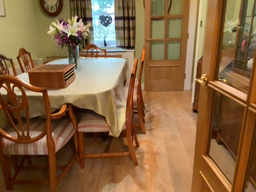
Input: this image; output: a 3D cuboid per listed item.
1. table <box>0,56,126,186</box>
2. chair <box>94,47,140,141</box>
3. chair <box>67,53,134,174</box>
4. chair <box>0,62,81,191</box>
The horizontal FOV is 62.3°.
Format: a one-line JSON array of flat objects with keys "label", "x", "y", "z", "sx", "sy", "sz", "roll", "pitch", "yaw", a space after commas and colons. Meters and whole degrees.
[{"label": "table", "x": -0.660, "y": 0.060, "z": 2.520, "sx": 1.110, "sy": 0.780, "sz": 1.850, "roll": 0, "pitch": 19, "yaw": 4}, {"label": "chair", "x": -0.090, "y": -0.040, "z": 2.450, "sx": 0.440, "sy": 0.980, "sz": 0.470, "roll": 0, "pitch": 19, "yaw": 4}, {"label": "chair", "x": -0.190, "y": 0.140, "z": 1.930, "sx": 0.470, "sy": 0.980, "sz": 0.470, "roll": 0, "pitch": 19, "yaw": 4}, {"label": "chair", "x": -0.680, "y": 0.280, "z": 1.580, "sx": 0.490, "sy": 0.980, "sz": 0.460, "roll": -2, "pitch": 20, "yaw": -3}]
